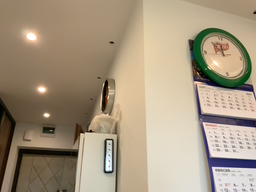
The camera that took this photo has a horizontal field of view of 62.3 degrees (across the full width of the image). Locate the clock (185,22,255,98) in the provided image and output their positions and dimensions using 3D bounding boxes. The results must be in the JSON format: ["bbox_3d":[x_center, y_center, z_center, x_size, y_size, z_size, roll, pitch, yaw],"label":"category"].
[{"bbox_3d":[0.430,-0.160,0.960,0.340,0.290,0.050,9,-24,-18],"label":"clock"}]

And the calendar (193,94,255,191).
[{"bbox_3d":[0.440,0.240,0.800,0.350,0.460,0.060,8,-24,-16],"label":"calendar"}]
